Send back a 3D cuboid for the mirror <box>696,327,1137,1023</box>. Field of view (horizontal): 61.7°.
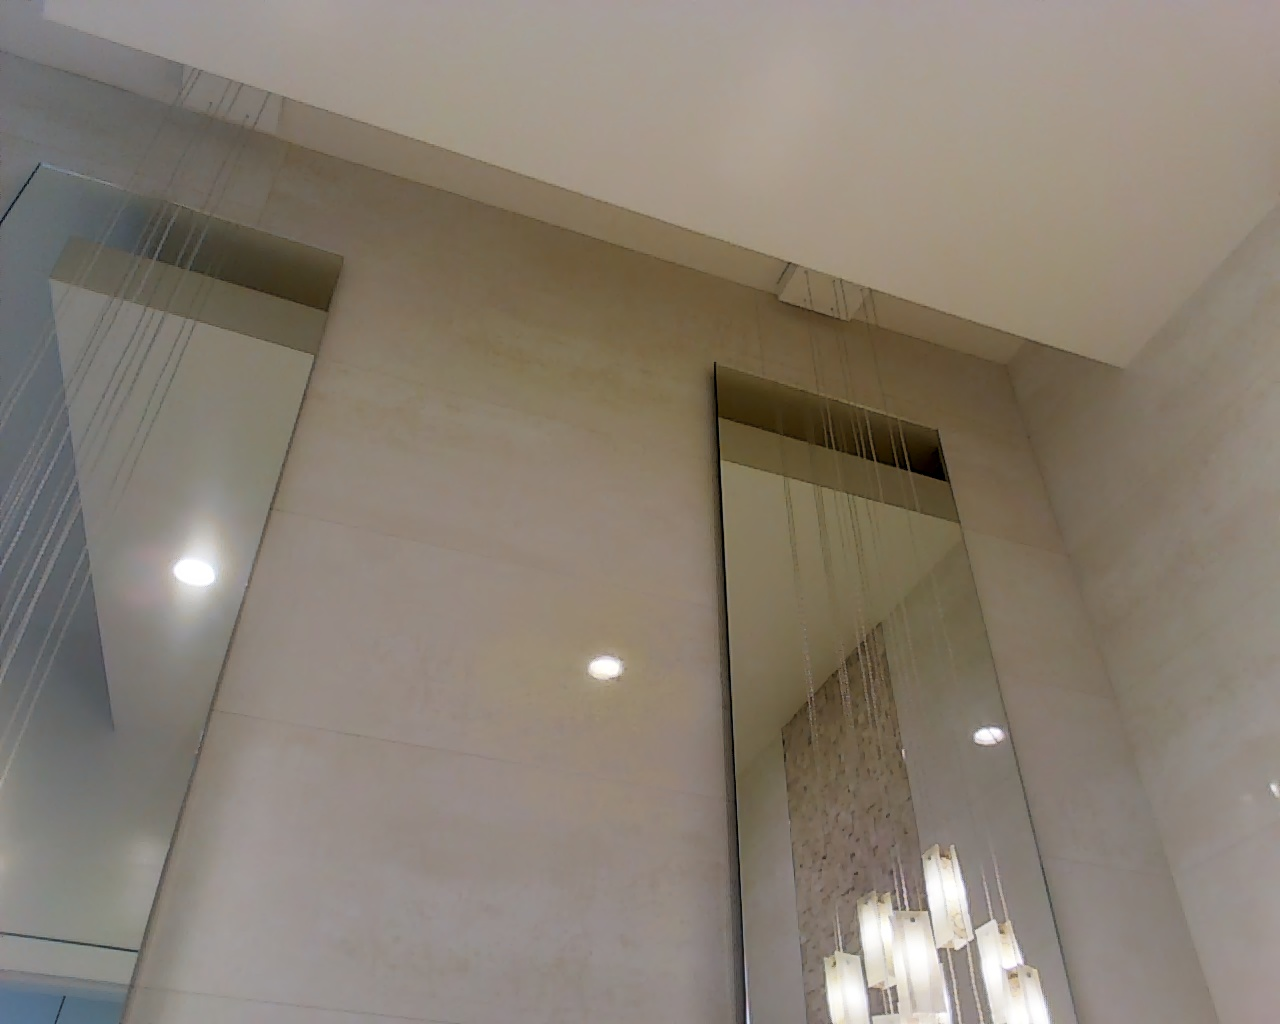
[{"bbox_3d":[0.380,0.440,1.540,0.540,1.850,0.100,13,-43,-15],"label":"mirror"}]
